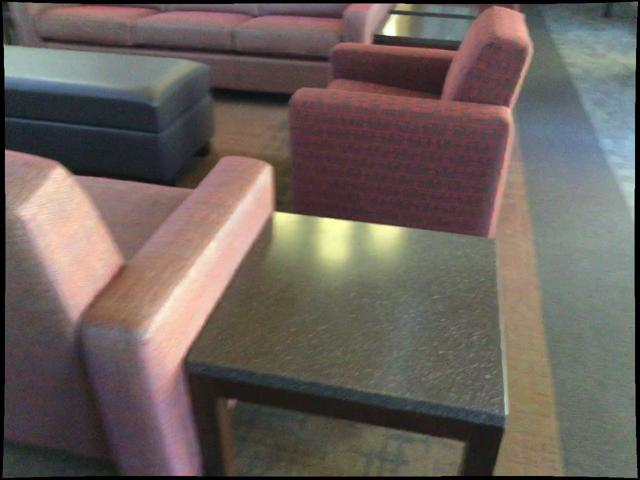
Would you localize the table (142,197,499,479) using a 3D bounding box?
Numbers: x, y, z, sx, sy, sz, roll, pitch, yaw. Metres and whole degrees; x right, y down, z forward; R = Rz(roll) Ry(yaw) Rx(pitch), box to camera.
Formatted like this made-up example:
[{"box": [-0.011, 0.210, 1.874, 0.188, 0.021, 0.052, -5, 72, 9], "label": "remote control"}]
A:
[{"box": [0.070, 0.290, 1.450, 0.669, 0.500, 0.650, 4, 35, 13], "label": "table"}]

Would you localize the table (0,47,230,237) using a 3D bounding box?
[{"box": [-1.209, -0.511, 2.830, 1.299, 0.670, 0.620, 4, 35, 13], "label": "table"}]
